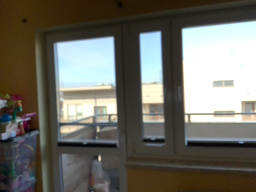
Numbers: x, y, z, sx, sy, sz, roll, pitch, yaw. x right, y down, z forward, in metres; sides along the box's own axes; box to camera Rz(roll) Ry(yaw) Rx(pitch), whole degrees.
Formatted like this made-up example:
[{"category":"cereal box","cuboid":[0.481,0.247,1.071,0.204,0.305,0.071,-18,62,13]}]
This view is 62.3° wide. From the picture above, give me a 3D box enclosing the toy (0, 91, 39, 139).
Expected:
[{"category":"toy","cuboid":[-1.180,0.160,1.970,0.510,0.380,0.370,-1,2,15]}]
